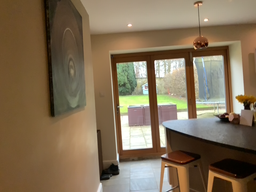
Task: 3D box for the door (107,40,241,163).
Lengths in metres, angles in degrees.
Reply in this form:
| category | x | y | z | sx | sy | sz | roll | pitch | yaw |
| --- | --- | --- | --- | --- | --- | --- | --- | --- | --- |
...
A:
| category | x | y | z | sx | sy | sz | roll | pitch | yaw |
| --- | --- | --- | --- | --- | --- | --- | --- | --- | --- |
| door | 0.890 | 0.120 | 4.200 | 2.410 | 2.210 | 0.220 | -4 | 1 | 2 |
